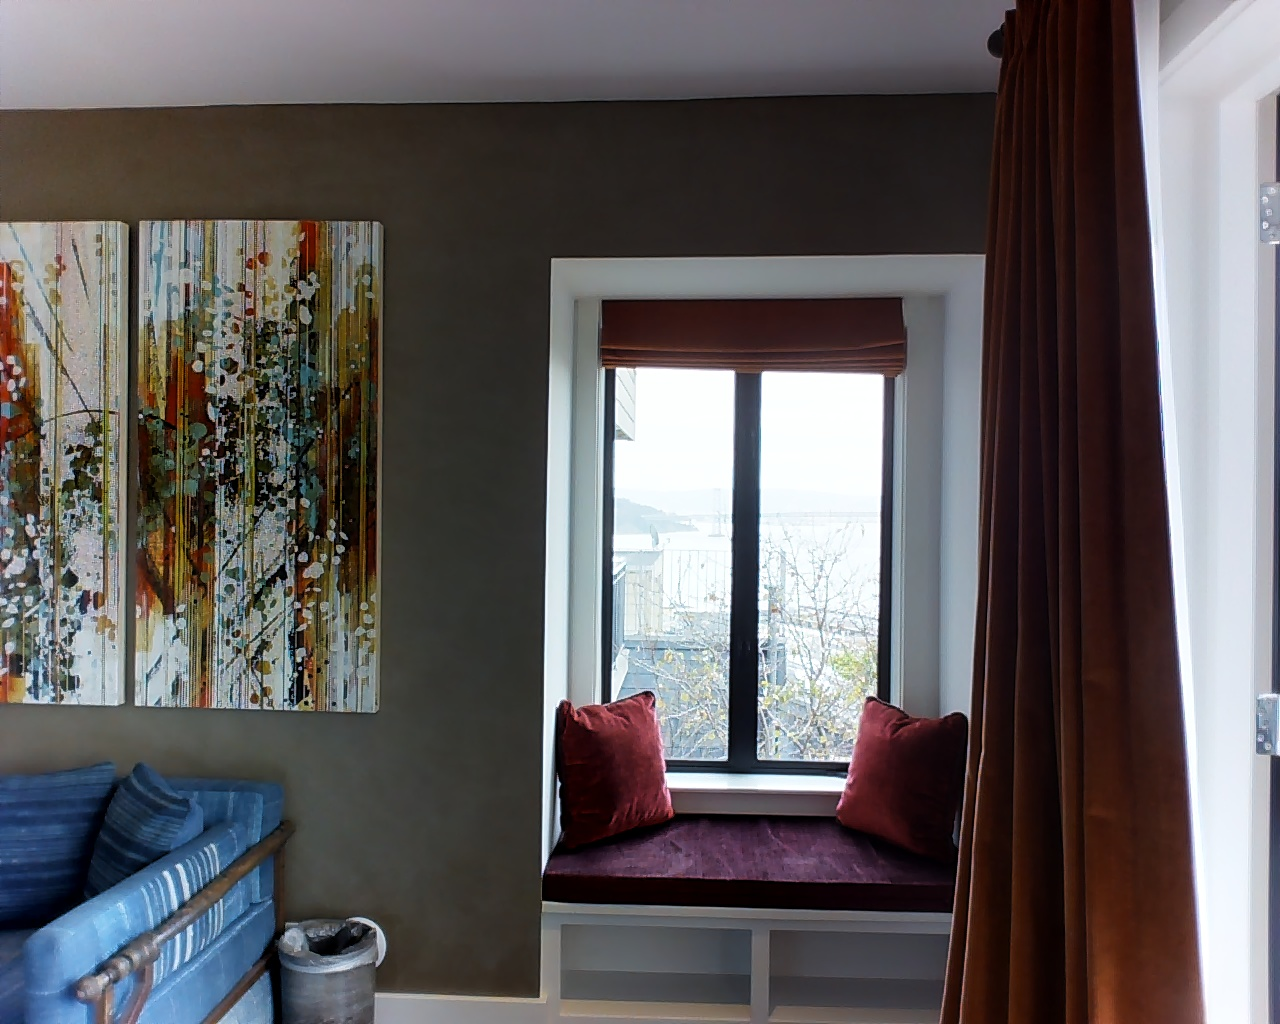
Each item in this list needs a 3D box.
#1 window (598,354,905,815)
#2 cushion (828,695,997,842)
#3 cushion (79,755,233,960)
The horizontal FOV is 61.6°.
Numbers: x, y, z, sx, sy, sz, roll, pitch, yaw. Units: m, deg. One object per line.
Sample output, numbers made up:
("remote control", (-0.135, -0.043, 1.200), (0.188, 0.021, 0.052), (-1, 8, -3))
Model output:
("window", (0.380, 0.240, 3.730), (1.020, 1.550, 0.180), (1, 0, 3))
("cushion", (0.840, 0.820, 3.390), (0.240, 0.410, 0.550), (7, -17, -18))
("cushion", (-1.260, 0.870, 2.780), (0.240, 0.370, 0.450), (1, 0, -41))
